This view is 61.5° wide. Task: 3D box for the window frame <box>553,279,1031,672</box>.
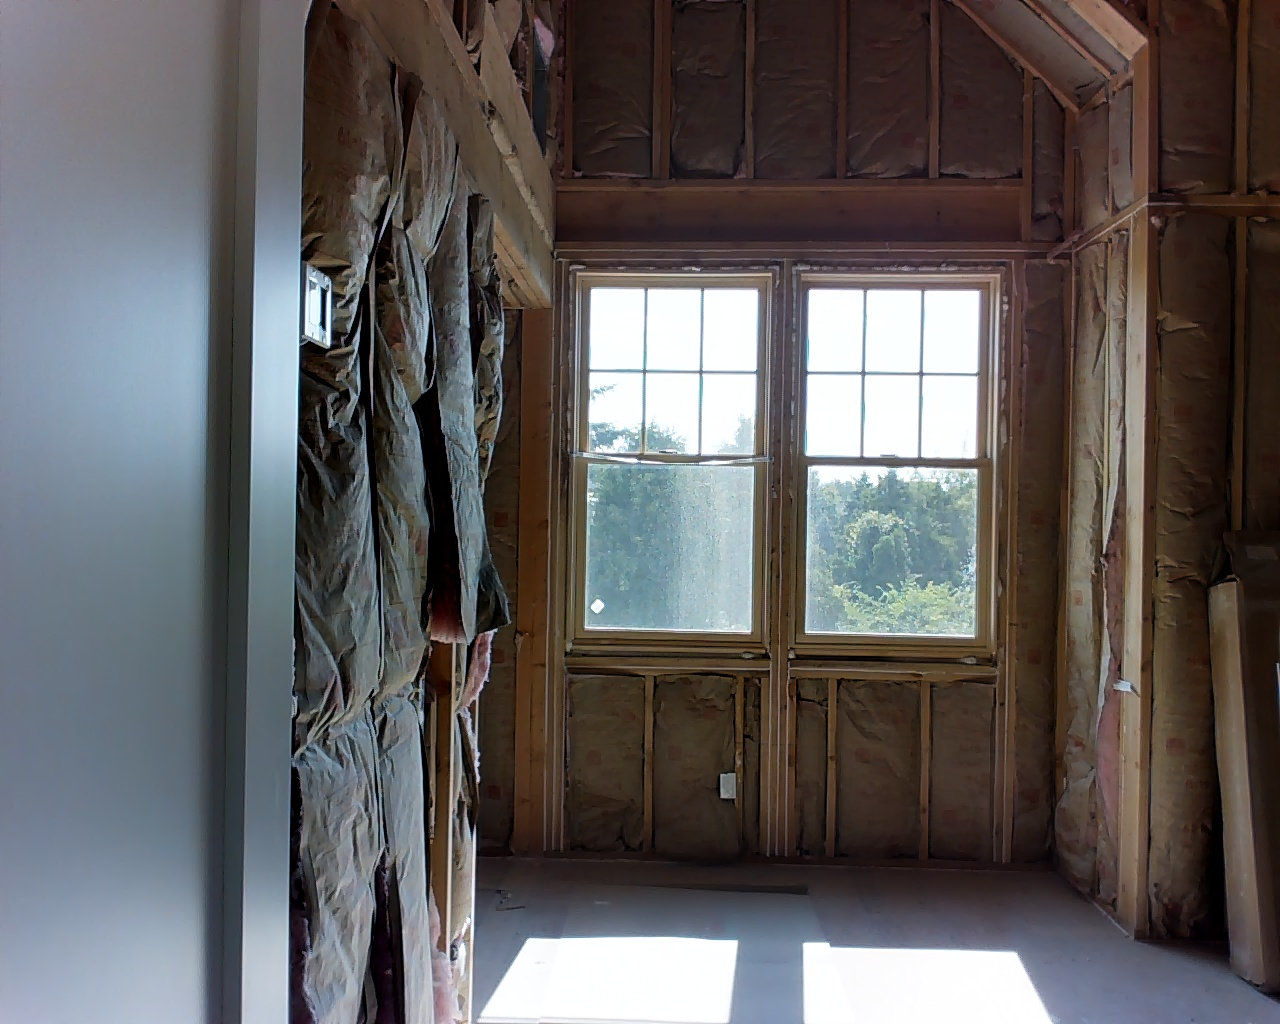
[{"bbox_3d":[0.670,-0.170,4.870,2.090,1.720,0.210,1,0,2],"label":"window frame"}]
